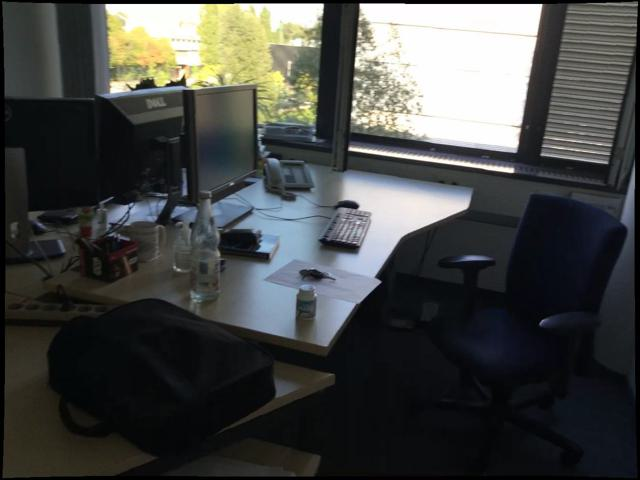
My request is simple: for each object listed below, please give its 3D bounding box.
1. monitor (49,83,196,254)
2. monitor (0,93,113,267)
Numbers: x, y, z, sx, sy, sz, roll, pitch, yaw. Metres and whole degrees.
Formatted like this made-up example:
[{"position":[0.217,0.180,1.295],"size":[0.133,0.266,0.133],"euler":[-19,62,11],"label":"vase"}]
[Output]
[{"position":[-0.669,-0.280,2.070],"size":[0.100,0.500,0.550],"euler":[3,19,21],"label":"monitor"},{"position":[-0.949,-0.190,1.790],"size":[0.510,0.480,0.200],"euler":[-13,26,-36],"label":"monitor"}]
